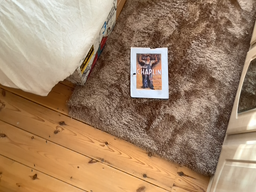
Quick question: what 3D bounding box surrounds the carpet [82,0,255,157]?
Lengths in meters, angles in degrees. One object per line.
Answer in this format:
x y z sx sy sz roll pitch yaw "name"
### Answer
0.370 -0.440 1.310 0.740 0.100 1.390 24 75 0 "carpet"
